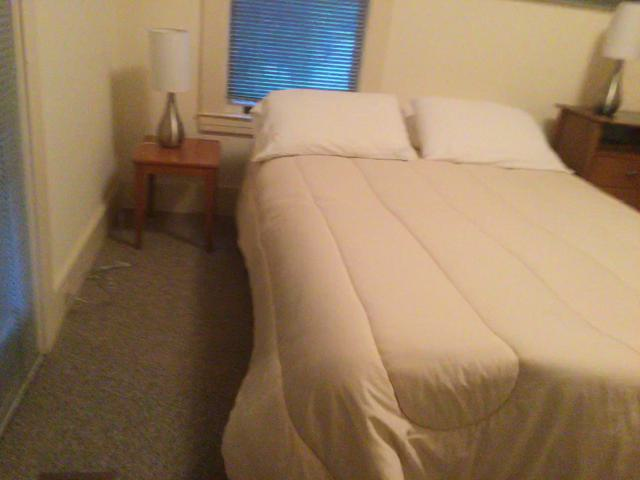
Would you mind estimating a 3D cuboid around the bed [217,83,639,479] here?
[{"bbox_3d":[0.570,0.030,2.110,1.810,0.800,2.210,0,22,-9],"label":"bed"}]
